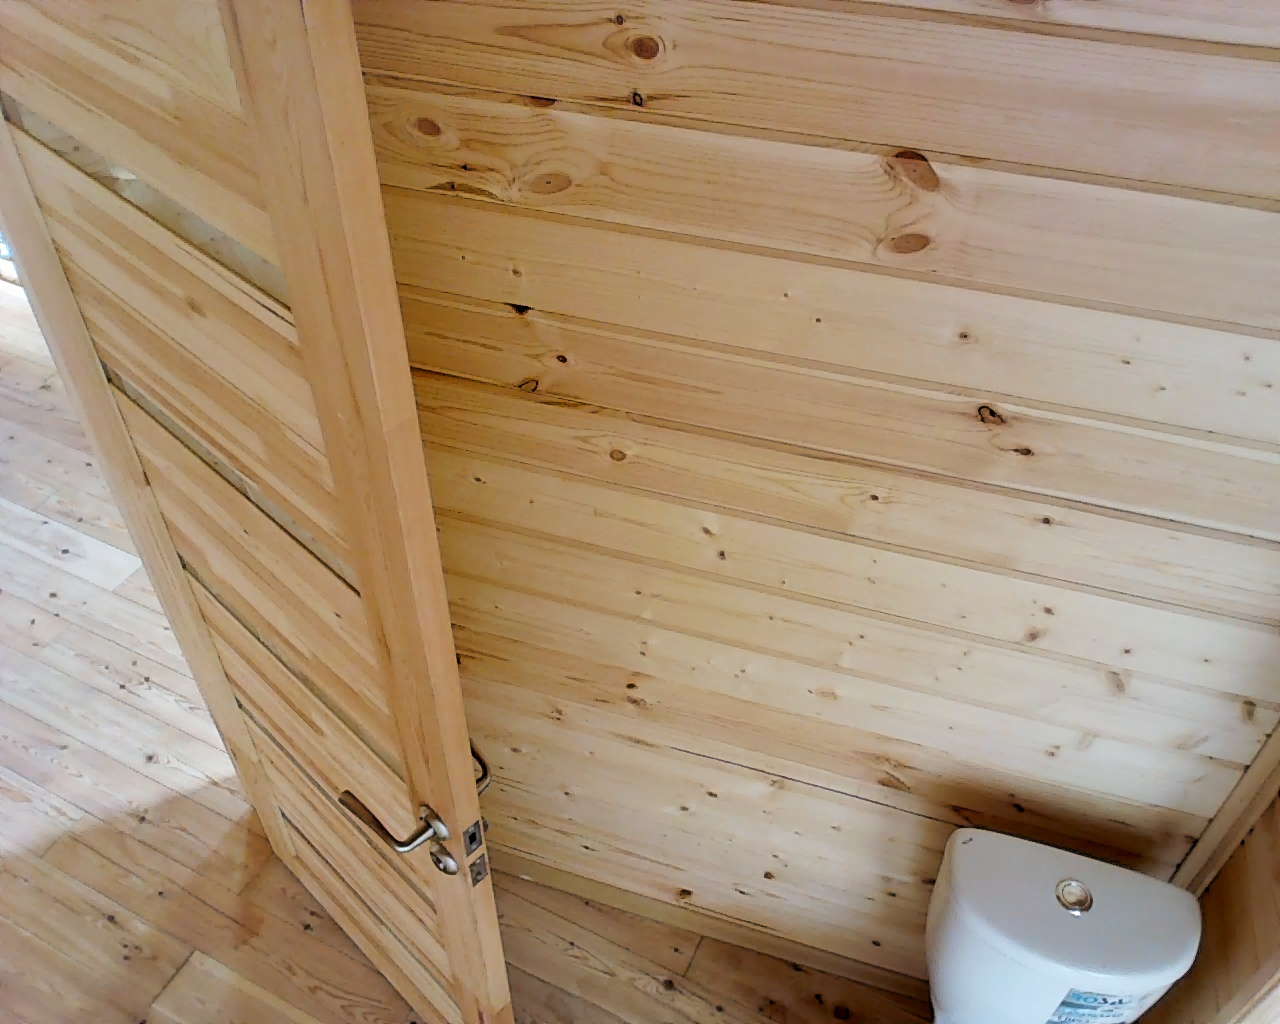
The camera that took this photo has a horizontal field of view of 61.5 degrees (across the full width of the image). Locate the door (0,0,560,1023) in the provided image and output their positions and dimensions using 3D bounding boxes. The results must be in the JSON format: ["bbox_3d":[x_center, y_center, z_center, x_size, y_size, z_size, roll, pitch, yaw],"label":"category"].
[{"bbox_3d":[-0.480,0.220,1.560,0.840,2.040,0.070,29,50,26],"label":"door"}]
